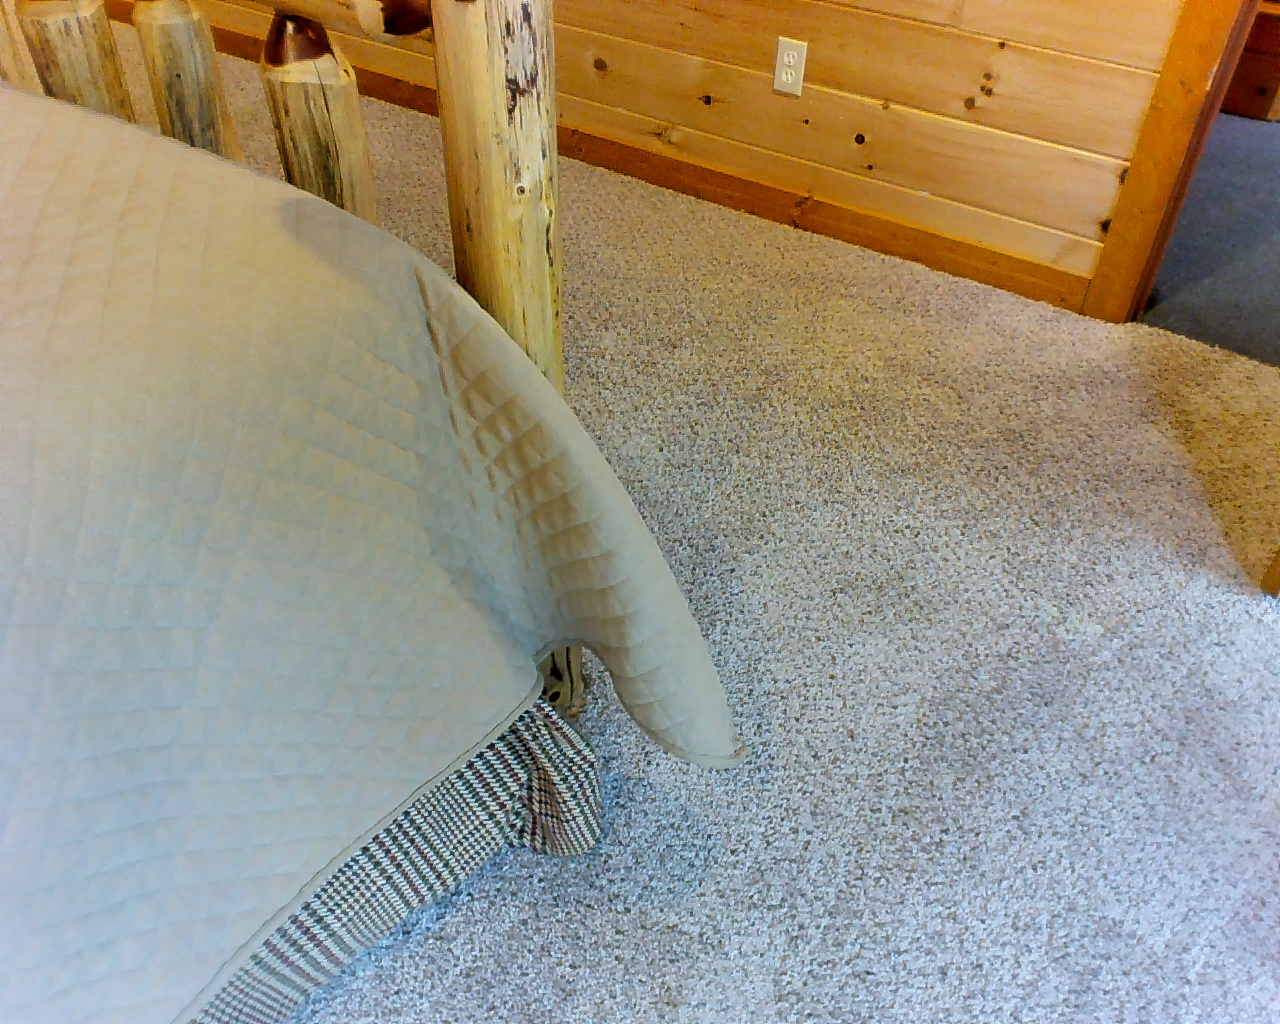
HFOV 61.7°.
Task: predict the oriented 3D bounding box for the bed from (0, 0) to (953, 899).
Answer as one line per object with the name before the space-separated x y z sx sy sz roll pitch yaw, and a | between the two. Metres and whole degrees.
bed | -0.580 -0.350 1.380 1.750 1.020 0.340 25 47 23
